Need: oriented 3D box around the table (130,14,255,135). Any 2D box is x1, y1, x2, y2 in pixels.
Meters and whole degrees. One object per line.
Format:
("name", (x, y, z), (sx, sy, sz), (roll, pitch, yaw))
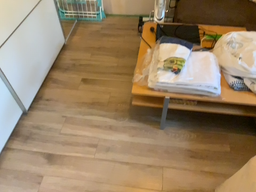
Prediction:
("table", (0.570, -0.250, 1.850), (0.960, 0.400, 0.970), (7, 49, 7))
